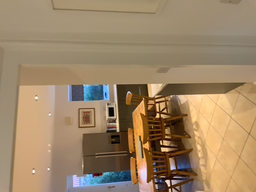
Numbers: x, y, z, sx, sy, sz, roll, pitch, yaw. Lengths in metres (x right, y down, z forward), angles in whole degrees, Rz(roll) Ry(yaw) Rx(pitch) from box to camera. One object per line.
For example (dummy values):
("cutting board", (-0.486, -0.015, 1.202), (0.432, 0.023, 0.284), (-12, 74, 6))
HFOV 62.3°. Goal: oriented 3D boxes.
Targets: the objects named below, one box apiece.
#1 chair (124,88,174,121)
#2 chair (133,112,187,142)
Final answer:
("chair", (0.400, 0.180, 4.280), (0.500, 0.860, 0.550), (130, 137, -71))
("chair", (0.540, 0.560, 3.760), (0.500, 0.800, 0.440), (127, 141, -72))
